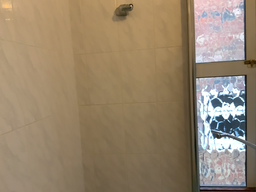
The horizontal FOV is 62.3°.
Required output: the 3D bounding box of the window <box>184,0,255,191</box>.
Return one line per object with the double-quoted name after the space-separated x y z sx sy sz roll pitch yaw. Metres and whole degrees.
0.700 -0.100 1.190 0.710 1.470 0.080 -3 6 10 "window"
